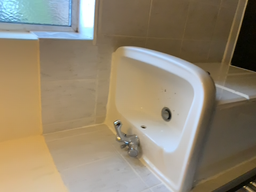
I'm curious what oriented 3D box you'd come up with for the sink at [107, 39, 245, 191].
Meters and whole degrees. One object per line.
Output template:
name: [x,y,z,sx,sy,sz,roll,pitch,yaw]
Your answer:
sink: [0.120,0.030,0.870,0.520,0.160,0.430,34,123,50]
